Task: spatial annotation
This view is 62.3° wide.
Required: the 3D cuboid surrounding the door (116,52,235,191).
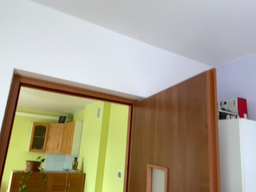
[{"bbox_3d":[0.130,0.920,1.070,0.130,2.080,0.910,10,-15,-22],"label":"door"}]
